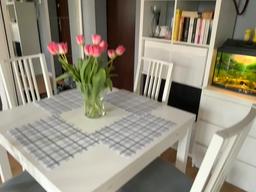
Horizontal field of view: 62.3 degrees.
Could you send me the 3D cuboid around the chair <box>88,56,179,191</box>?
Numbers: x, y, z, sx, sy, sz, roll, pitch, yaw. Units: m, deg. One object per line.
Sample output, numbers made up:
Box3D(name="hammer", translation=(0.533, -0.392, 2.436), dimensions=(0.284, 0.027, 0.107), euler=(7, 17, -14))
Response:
Box3D(name="chair", translation=(0.030, 0.230, 1.680), dimensions=(0.500, 0.980, 0.410), euler=(-17, 28, -38))
